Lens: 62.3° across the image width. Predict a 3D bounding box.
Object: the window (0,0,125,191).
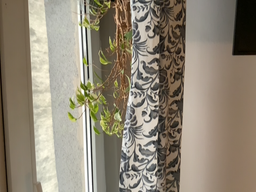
[{"bbox_3d":[-0.340,0.300,0.390,0.160,1.760,1.390,0,-177,21],"label":"window"}]
